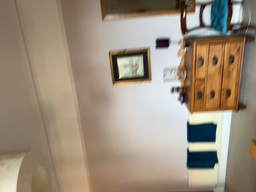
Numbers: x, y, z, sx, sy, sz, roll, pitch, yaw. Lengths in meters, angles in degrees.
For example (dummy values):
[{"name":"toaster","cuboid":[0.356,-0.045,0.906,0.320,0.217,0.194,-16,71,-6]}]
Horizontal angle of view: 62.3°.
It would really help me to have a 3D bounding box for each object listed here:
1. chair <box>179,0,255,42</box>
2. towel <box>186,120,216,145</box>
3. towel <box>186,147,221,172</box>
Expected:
[{"name":"chair","cuboid":[1.130,-1.030,2.780,0.520,0.820,0.500,-86,-8,-70]},{"name":"towel","cuboid":[1.220,0.620,3.580,0.160,0.450,0.350,-86,-9,-70]},{"name":"towel","cuboid":[1.320,1.130,3.750,0.160,0.560,0.370,-84,-10,-74]}]
